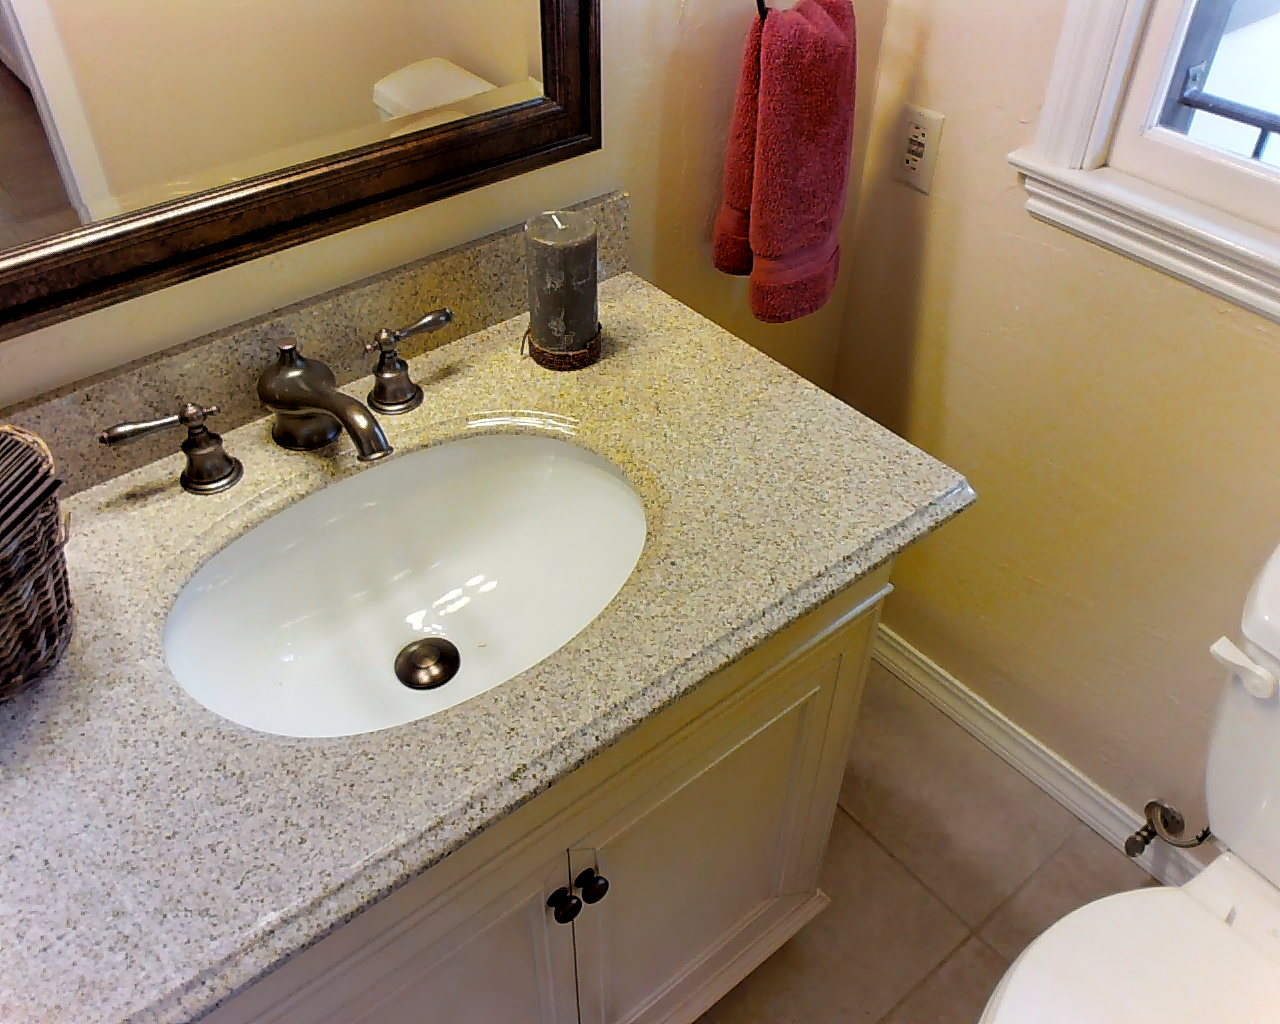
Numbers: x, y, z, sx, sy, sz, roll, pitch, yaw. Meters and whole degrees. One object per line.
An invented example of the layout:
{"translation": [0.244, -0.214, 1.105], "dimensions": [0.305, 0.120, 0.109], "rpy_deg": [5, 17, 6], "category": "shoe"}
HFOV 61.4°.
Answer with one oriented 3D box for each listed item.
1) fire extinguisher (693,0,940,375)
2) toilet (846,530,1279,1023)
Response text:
{"translation": [0.210, -0.430, 1.380], "dimensions": [0.210, 0.430, 0.170], "rpy_deg": [-29, 49, -28], "category": "fire extinguisher"}
{"translation": [0.660, 0.560, 1.220], "dimensions": [0.770, 0.830, 0.470], "rpy_deg": [-28, 49, -28], "category": "toilet"}
